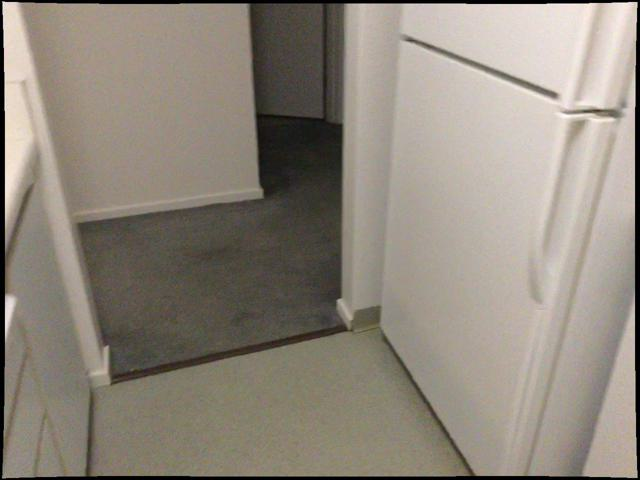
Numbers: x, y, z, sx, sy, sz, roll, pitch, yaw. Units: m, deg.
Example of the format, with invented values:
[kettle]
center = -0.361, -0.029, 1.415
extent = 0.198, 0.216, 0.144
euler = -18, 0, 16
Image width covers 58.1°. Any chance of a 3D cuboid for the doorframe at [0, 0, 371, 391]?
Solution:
[doorframe]
center = -0.359, -0.501, 1.780
extent = 1.018, 2.004, 0.240
euler = -11, 30, -15
